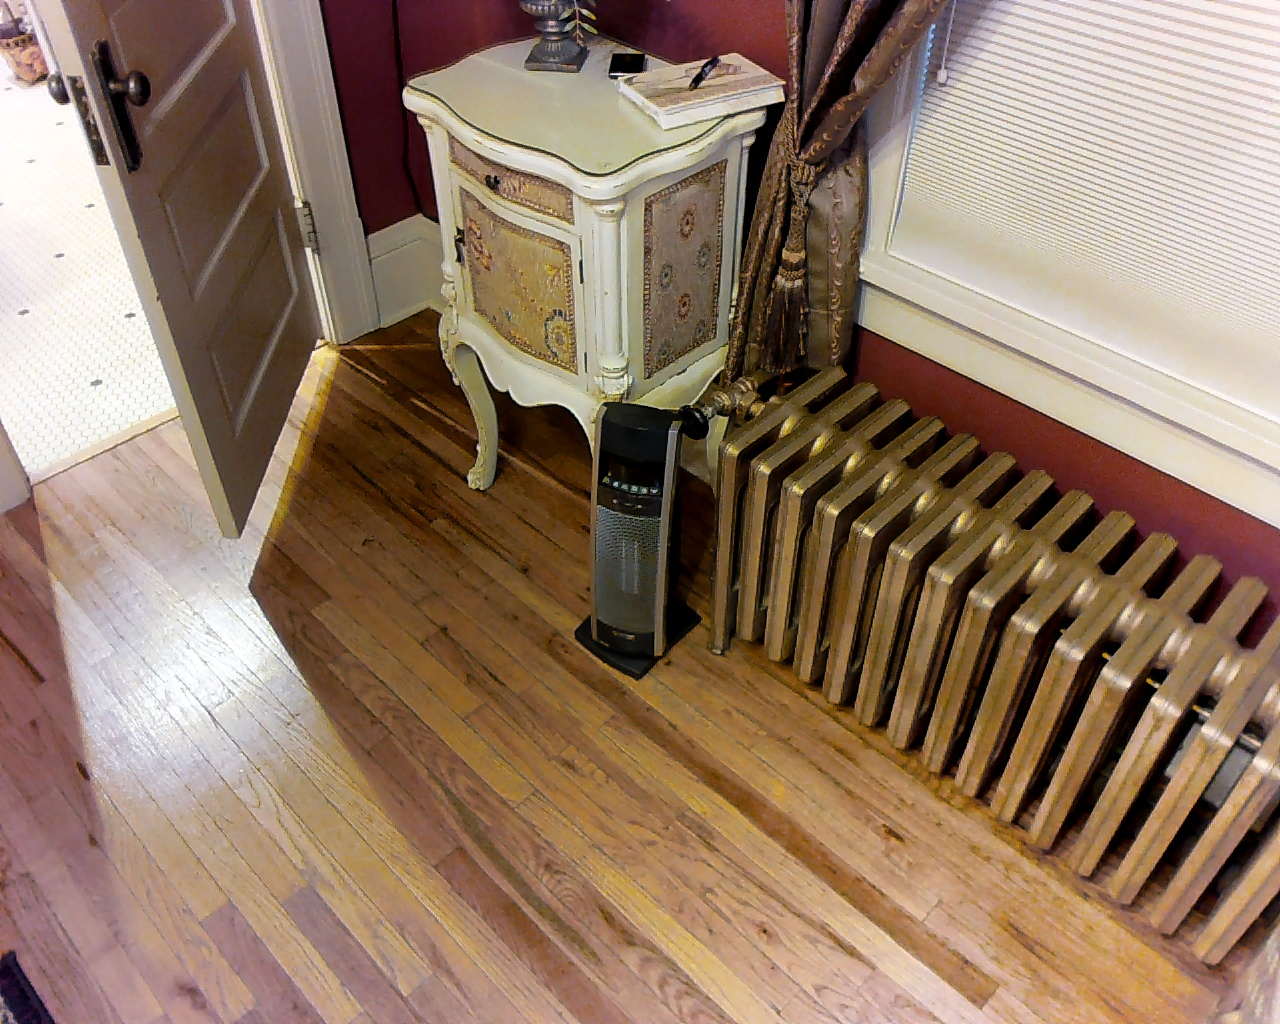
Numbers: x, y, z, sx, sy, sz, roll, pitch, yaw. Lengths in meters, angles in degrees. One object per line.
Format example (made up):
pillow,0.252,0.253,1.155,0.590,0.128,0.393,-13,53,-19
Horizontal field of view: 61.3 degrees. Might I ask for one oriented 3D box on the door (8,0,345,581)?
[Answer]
door,-0.770,-0.890,1.690,0.090,2.110,0.750,0,43,0
